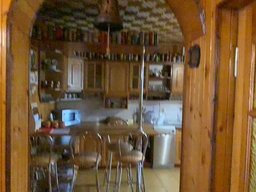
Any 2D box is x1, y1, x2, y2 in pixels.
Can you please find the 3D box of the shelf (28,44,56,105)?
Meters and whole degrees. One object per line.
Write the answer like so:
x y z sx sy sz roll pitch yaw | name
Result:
-1.330 -0.320 3.310 0.340 0.890 0.300 1 3 -10 | shelf

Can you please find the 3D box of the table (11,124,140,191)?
-0.680 0.960 2.960 1.580 1.030 0.560 1 3 -10 | table

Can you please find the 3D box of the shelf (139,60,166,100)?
0.540 -0.350 4.730 0.500 0.860 0.270 1 3 -10 | shelf
